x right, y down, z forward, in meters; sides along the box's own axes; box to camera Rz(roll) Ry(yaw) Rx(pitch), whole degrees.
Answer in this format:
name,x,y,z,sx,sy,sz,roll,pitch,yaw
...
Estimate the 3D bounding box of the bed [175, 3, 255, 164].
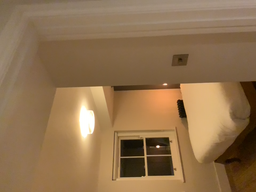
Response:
name,x,y,z,sx,sy,sz,roll,pitch,yaw
bed,1.310,-0.200,3.340,1.480,0.680,2.040,85,-176,-53
